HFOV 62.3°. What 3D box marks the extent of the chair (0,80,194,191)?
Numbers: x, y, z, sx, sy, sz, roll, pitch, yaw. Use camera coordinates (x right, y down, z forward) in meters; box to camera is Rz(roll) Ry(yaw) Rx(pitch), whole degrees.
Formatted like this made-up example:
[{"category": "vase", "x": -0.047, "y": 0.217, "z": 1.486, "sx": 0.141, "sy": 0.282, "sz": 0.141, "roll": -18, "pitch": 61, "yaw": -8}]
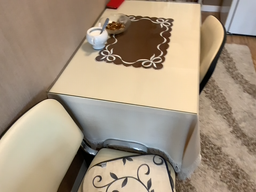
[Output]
[{"category": "chair", "x": -0.110, "y": 0.440, "z": 0.870, "sx": 0.570, "sy": 0.810, "sz": 0.500, "roll": 9, "pitch": 48, "yaw": 10}]
